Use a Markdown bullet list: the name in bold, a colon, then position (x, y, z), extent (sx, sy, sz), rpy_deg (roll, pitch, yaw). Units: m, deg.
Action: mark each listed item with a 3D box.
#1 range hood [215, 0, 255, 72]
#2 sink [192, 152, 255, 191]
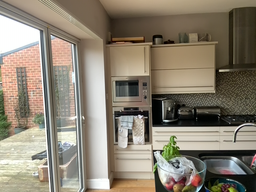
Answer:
- **range hood**: position (1.730, -0.880, 3.250), extent (0.640, 1.000, 0.420), rpy_deg (-1, 6, 9)
- **sink**: position (0.770, 0.660, 1.770), extent (0.380, 0.220, 0.450), rpy_deg (-1, 6, 6)
